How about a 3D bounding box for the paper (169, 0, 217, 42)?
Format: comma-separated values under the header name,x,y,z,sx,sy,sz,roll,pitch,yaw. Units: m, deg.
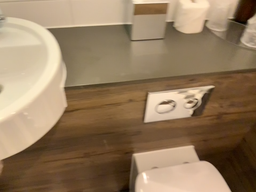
name,x,y,z,sx,sy,sz,roll,pitch,yaw
paper,0.240,-0.290,0.810,0.120,0.120,0.110,-4,46,-8
